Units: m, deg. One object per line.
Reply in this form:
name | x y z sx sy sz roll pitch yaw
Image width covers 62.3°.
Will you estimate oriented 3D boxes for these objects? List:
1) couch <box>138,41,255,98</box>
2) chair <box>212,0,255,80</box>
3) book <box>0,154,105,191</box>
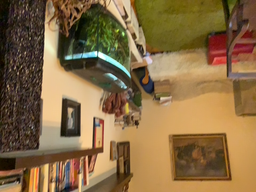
couch | 1.290 -0.410 3.670 2.140 0.660 0.690 -3 169 12
chair | 1.090 -0.650 1.810 0.500 0.910 0.520 -1 169 3
book | -0.490 0.620 1.530 0.210 0.280 1.390 -3 169 12
